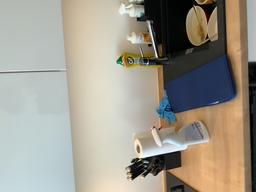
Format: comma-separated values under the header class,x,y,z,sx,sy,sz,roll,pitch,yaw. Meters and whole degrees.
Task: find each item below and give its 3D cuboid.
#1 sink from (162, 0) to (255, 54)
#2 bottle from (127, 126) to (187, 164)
class,x,y,z,sx,sy,sz,roll,pitch,yaw
sink,0.360,-0.430,1.050,0.450,0.160,0.370,-174,80,-67
bottle,0.150,0.250,1.120,0.160,0.260,0.120,-175,81,-67
